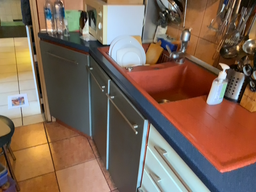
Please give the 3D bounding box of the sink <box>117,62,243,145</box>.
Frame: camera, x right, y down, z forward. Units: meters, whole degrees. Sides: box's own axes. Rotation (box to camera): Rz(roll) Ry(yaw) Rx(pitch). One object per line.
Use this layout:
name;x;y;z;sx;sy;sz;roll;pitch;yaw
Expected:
sink;0.260;0.000;1.180;0.510;0.200;0.410;-10;34;-24

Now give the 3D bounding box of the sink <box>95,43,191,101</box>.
sink;0.080;-0.200;1.500;0.510;0.200;0.430;-10;34;-24

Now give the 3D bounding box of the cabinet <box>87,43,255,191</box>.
cabinet;0.240;0.330;1.310;0.620;0.900;1.310;-10;34;-24
